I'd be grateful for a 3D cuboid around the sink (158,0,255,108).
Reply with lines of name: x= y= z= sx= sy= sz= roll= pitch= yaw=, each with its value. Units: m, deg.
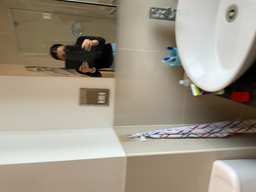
sink: x=0.340 y=-0.330 z=0.860 sx=0.510 sy=0.180 sz=0.640 roll=-141 pitch=53 yaw=-70
